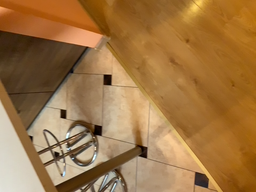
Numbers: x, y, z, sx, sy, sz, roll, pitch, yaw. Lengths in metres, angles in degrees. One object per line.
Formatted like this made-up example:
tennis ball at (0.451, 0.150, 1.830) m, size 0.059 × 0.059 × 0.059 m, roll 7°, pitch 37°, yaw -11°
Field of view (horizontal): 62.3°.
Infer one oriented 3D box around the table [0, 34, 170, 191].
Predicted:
table at (-0.340, 0.160, 1.190) m, size 0.400 × 0.870 × 0.890 m, roll -44°, pitch 71°, yaw 26°
